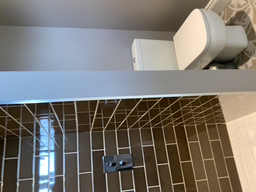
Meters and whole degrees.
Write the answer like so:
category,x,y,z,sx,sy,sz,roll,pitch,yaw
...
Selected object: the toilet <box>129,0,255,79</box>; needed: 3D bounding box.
category,x,y,z,sx,sy,sz,roll,pitch,yaw
toilet,0.480,-0.440,1.730,0.600,0.810,0.380,122,144,-67
